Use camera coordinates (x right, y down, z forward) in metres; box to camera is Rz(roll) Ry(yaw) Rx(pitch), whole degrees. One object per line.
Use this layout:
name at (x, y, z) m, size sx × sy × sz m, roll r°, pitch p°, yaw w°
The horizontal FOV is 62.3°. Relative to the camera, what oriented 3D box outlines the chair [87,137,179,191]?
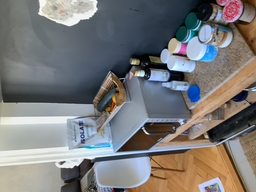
chair at (0.030, 0.800, 2.450) m, size 0.580 × 0.830 × 0.410 m, roll -53°, pitch 43°, yaw 49°
